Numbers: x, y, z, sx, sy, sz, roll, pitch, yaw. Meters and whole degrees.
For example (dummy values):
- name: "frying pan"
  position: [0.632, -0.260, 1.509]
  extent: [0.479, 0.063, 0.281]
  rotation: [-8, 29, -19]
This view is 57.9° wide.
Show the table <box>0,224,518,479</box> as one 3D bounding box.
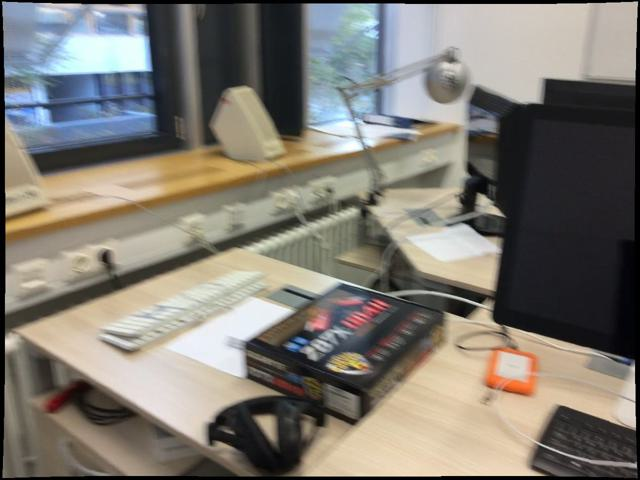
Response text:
- name: "table"
  position: [-0.160, 0.511, 1.410]
  extent: [0.939, 0.741, 0.780]
  rotation: [15, 25, 32]

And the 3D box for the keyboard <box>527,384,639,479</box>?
- name: "keyboard"
  position: [0.569, 0.350, 0.820]
  extent: [0.480, 0.020, 0.220]
  rotation: [15, 25, 32]

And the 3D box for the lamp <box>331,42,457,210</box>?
- name: "lamp"
  position: [0.250, -0.410, 2.030]
  extent: [0.350, 0.530, 0.210]
  rotation: [-11, 24, -28]
